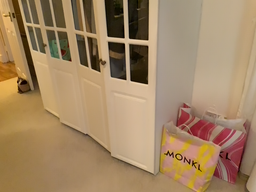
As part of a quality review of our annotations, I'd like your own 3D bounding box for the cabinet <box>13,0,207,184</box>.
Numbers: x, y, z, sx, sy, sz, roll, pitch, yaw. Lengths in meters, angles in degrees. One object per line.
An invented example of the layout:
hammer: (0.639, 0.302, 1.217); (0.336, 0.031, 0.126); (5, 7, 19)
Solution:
cabinet: (-0.270, -0.680, 1.620); (1.560, 2.190, 0.530); (21, 35, 37)
